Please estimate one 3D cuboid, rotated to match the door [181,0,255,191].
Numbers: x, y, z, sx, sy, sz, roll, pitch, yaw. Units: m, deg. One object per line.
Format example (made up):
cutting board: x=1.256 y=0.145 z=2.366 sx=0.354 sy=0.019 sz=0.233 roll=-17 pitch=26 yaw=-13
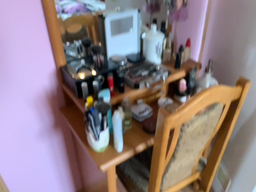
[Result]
door: x=0.530 y=-0.310 z=0.900 sx=0.110 sy=2.260 sz=0.750 roll=-4 pitch=34 yaw=-3
